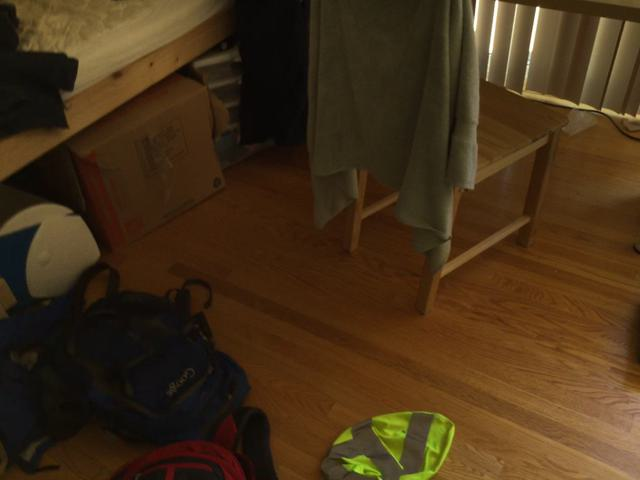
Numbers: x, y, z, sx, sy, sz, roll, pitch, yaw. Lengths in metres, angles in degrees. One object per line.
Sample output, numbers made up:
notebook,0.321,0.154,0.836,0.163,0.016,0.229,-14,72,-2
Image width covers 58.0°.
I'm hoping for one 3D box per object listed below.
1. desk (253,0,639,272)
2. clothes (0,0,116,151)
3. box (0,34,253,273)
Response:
desk,0.640,-0.660,1.920,1.420,0.790,0.910,21,48,24
clothes,-0.910,-0.420,1.450,0.500,0.190,0.530,21,48,24
box,-0.680,-0.330,1.980,0.630,0.430,0.580,21,48,24
